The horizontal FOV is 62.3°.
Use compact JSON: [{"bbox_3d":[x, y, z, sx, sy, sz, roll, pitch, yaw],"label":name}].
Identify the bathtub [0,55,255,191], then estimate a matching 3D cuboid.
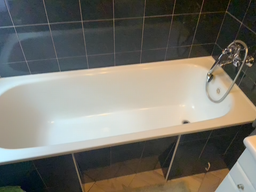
[{"bbox_3d":[-0.070,0.240,1.570,1.680,0.630,0.750,-7,45,-9],"label":"bathtub"}]
